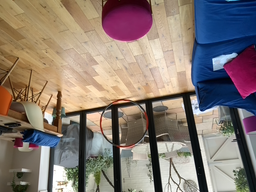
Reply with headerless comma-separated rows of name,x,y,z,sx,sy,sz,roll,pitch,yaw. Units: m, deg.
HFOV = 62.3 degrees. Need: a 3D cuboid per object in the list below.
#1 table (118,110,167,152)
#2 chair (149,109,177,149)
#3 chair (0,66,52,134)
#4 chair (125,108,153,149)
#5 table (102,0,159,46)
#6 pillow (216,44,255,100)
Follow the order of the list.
table,0.410,1.020,5.870,1.000,0.870,1.040,-12,157,19
chair,0.920,0.880,5.590,0.500,0.900,0.500,-15,156,25
chair,-1.430,0.070,2.950,0.540,0.780,0.380,-10,158,16
chair,0.270,0.830,5.330,0.500,0.900,0.500,-12,157,19
table,0.030,-0.720,1.720,0.360,0.400,0.410,-8,158,10
pillow,1.220,-0.210,2.100,0.400,0.330,0.430,9,155,-30
